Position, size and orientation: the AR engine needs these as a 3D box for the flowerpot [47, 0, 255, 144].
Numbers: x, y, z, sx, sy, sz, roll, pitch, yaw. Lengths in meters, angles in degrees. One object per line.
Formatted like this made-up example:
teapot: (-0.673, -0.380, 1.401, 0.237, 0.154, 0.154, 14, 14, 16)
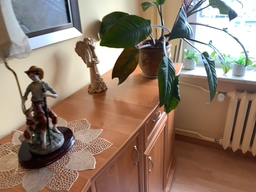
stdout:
flowerpot: (0.210, -0.330, 1.240, 0.850, 0.610, 0.850, 11, 30, 26)
